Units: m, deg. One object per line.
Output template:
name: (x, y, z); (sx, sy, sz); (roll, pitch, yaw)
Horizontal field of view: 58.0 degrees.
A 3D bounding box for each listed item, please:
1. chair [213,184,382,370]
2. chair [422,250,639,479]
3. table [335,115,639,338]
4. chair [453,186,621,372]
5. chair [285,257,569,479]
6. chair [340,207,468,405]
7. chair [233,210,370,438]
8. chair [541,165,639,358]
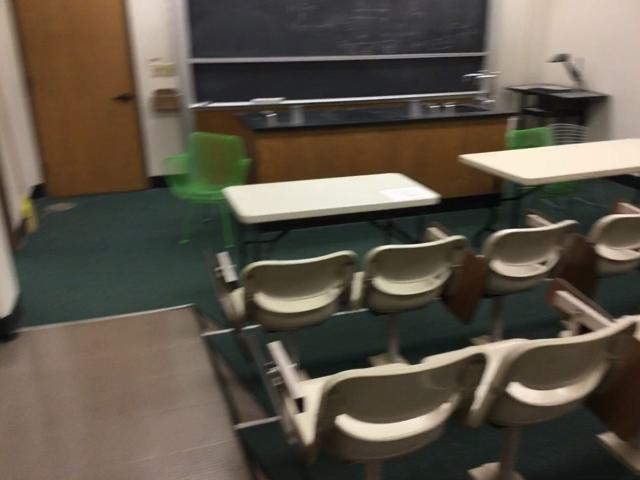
chair: (-0.080, 0.160, 3.160); (0.700, 0.770, 0.630); (4, 21, 19)
chair: (0.700, 0.490, 1.940); (0.520, 0.710, 0.580); (-6, 20, -10)
table: (1.370, -0.170, 3.590); (2.410, 0.980, 0.770); (-6, 20, -10)
chair: (1.010, 0.170, 2.800); (0.570, 0.730, 0.430); (-6, 20, -10)
chair: (0.280, 0.590, 1.870); (0.650, 0.830, 0.640); (-6, 20, -10)
chair: (0.370, 0.280, 2.710); (0.420, 0.720, 0.530); (-6, 20, -10)
chair: (-0.090, 0.340, 2.540); (0.480, 0.790, 0.510); (-6, 20, -10)
chair: (1.420, 0.090, 2.860); (0.370, 0.820, 0.440); (-6, 20, -10)
